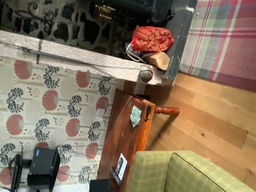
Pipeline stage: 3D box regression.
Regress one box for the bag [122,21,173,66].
[{"bbox_3d":[0.170,-0.470,1.910,0.290,0.280,0.320,29,109,59],"label":"bag"}]
